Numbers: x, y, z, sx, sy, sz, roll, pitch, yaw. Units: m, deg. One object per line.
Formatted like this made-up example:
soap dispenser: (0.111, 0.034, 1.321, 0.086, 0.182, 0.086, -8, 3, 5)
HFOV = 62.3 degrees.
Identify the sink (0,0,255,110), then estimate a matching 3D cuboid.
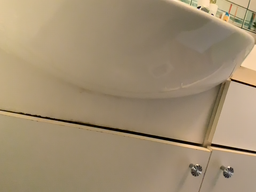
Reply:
sink: (-0.020, -0.120, 0.420, 0.510, 0.140, 0.380, 12, 7, -17)
